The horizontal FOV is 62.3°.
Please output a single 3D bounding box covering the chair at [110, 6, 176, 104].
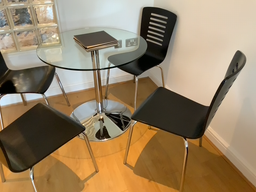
[{"bbox_3d":[0.120,-0.410,2.140,0.450,0.810,0.430,-13,37,-19],"label":"chair"}]
